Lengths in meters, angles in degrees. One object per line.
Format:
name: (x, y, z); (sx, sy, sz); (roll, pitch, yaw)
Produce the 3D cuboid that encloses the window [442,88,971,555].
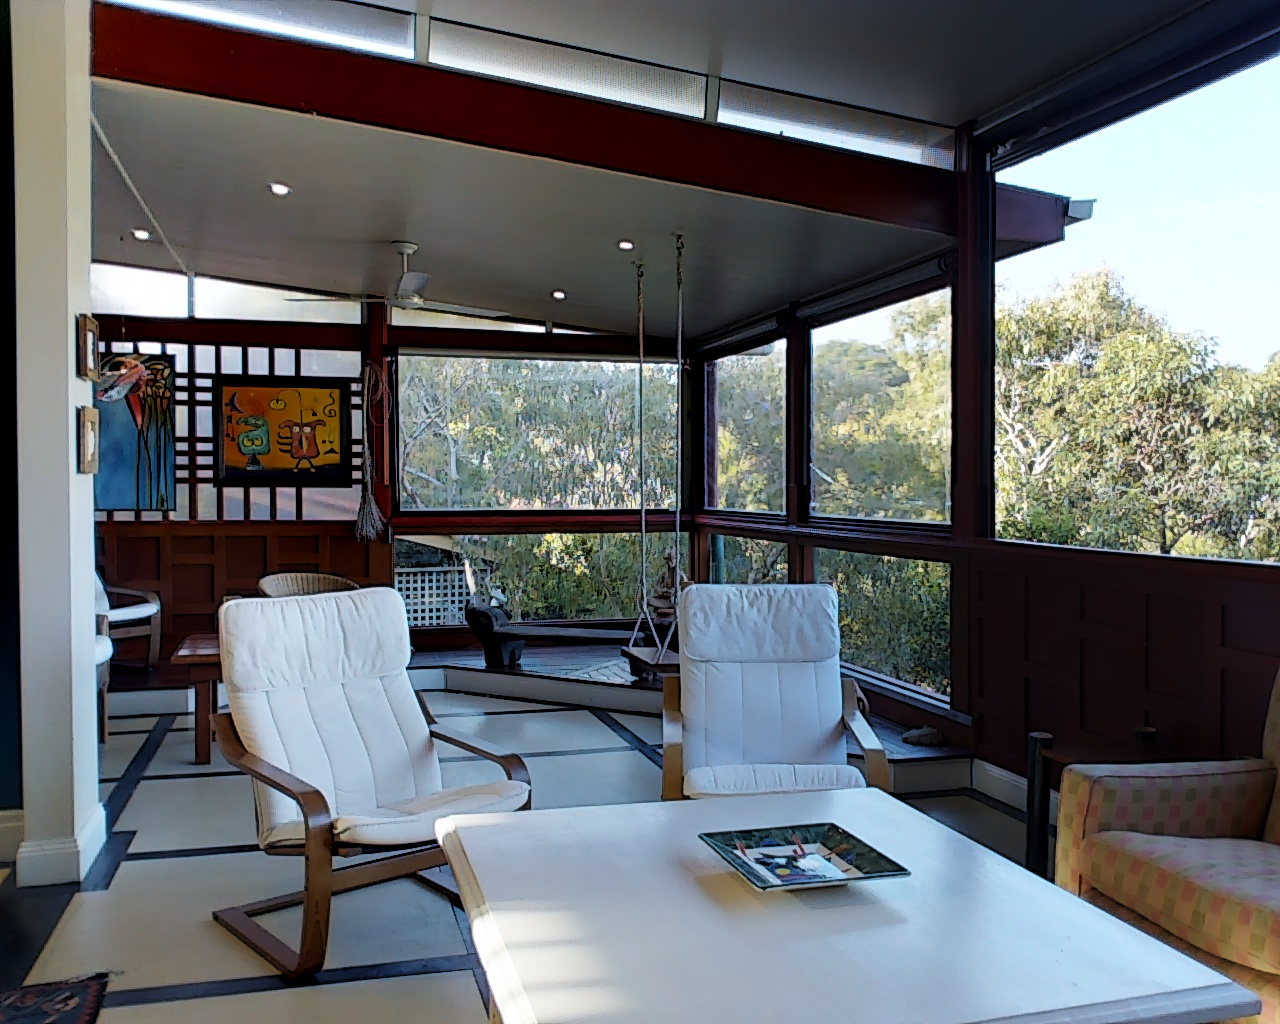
window: (0.340, -0.720, 4.440); (2.279, 1.761, 0.090); (0, 1, -17)
